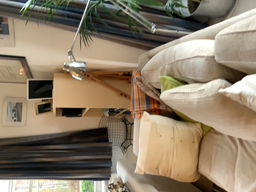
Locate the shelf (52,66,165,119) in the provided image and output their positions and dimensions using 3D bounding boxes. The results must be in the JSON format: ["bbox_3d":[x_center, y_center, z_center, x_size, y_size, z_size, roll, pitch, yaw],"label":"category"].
[{"bbox_3d":[-0.310,0.020,2.960,0.860,1.370,0.480,146,125,-67],"label":"shelf"}]

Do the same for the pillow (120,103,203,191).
[{"bbox_3d":[0.280,0.420,1.630,0.170,0.510,0.500,10,137,56],"label":"pillow"}]
